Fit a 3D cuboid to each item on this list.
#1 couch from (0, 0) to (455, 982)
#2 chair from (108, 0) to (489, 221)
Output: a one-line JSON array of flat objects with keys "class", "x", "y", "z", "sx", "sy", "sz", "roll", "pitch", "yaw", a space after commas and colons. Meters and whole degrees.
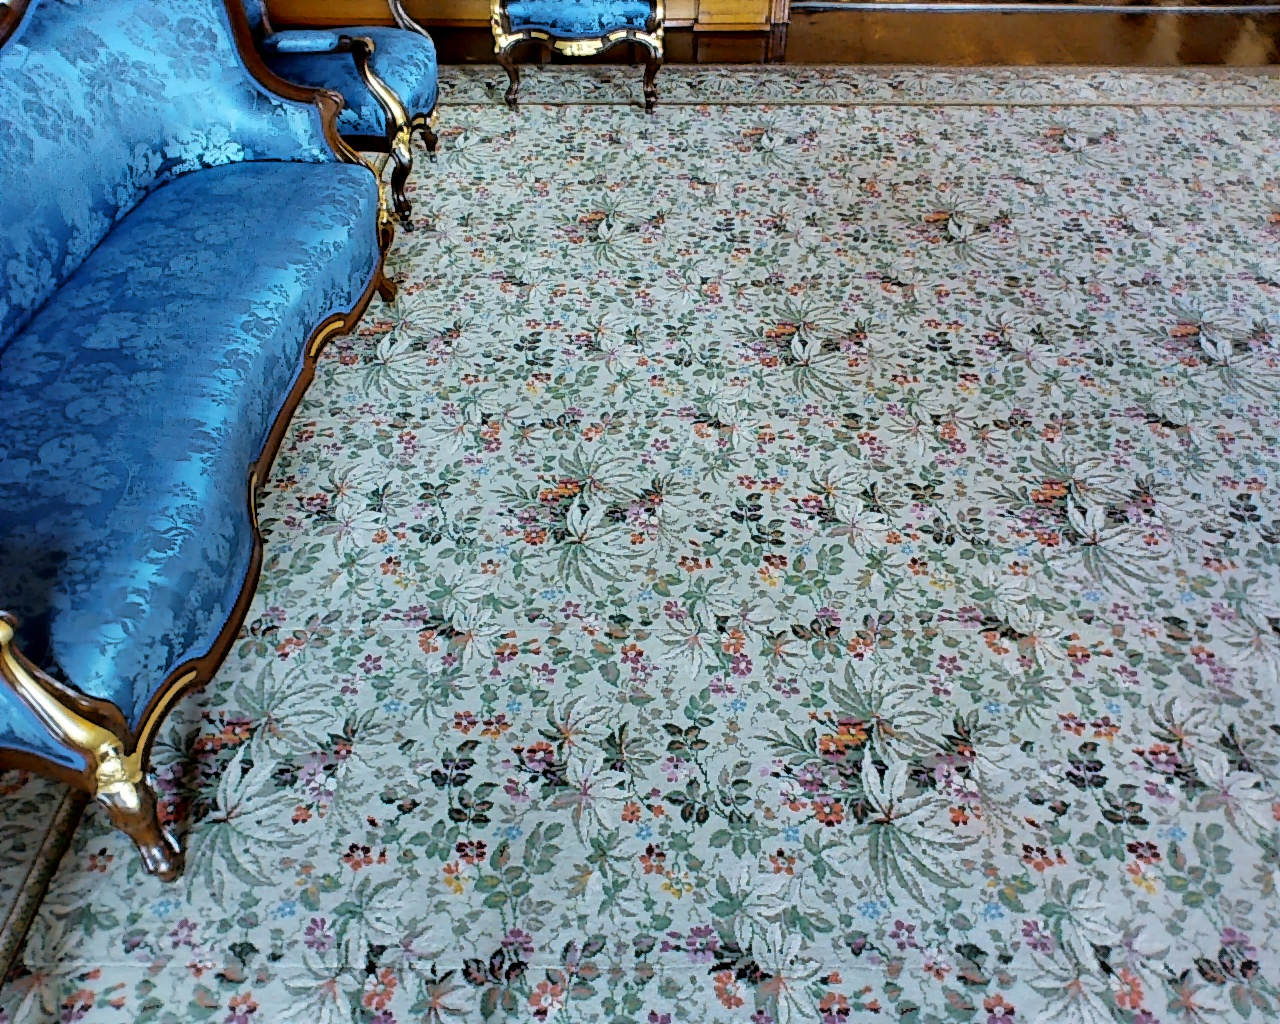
[{"class": "couch", "x": -1.040, "y": -0.450, "z": 2.050, "sx": 0.910, "sy": 1.010, "sz": 2.220, "roll": 2, "pitch": 41, "yaw": 1}, {"class": "chair", "x": -1.000, "y": -1.570, "z": 3.290, "sx": 0.880, "sy": 1.050, "sz": 0.790, "roll": 2, "pitch": 41, "yaw": 1}]
